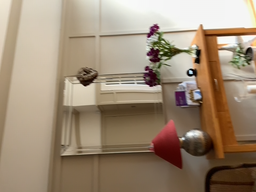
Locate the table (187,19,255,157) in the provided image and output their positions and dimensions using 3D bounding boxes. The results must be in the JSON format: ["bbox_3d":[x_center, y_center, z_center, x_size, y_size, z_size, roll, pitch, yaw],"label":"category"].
[{"bbox_3d":[1.030,-0.080,1.930,0.370,0.750,1.180,86,-178,-73],"label":"table"}]

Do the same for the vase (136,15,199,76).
[{"bbox_3d":[0.360,-0.490,2.100,0.310,0.530,0.470,86,-178,-70],"label":"vase"}]

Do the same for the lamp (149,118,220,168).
[{"bbox_3d":[0.440,0.400,1.800,0.380,0.480,0.350,85,-178,-76],"label":"lamp"}]
